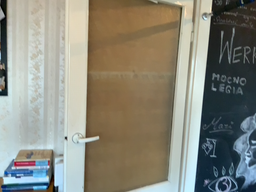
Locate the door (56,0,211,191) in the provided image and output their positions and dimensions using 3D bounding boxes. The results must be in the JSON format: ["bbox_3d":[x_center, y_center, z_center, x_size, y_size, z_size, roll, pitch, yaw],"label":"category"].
[{"bbox_3d":[0.040,0.290,1.340,0.910,1.930,0.200,-1,9,-30],"label":"door"}]
